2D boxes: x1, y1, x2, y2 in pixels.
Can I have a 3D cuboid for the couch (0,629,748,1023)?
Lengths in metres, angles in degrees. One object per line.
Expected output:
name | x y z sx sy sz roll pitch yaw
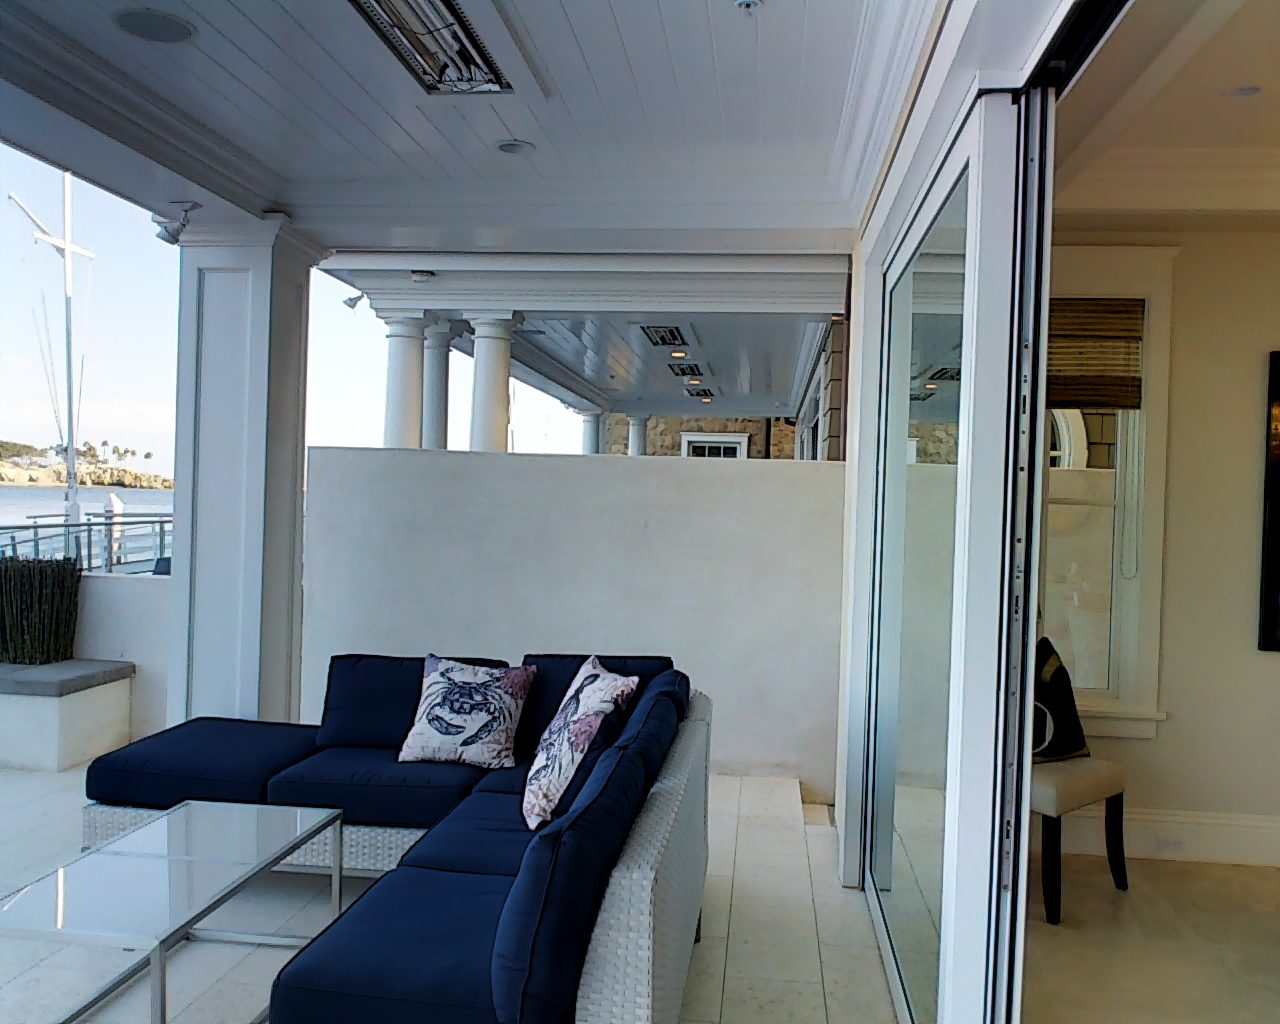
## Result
couch | -0.910 1.030 3.540 2.419 0.880 2.580 2 1 7
